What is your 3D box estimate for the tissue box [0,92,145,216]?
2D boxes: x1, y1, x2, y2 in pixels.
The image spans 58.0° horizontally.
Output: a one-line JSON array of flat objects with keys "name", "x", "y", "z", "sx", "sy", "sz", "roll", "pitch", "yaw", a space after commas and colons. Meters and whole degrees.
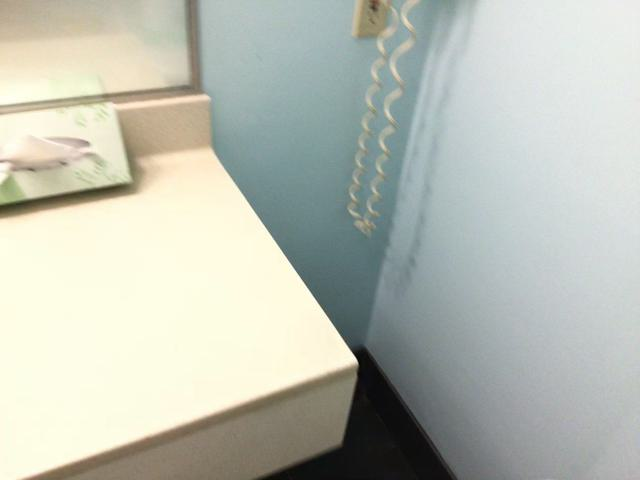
[{"name": "tissue box", "x": -0.400, "y": -0.130, "z": 0.860, "sx": 0.240, "sy": 0.120, "sz": 0.110, "roll": -13, "pitch": 42, "yaw": -25}]
